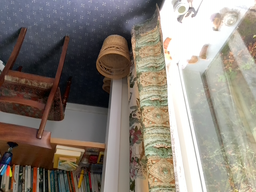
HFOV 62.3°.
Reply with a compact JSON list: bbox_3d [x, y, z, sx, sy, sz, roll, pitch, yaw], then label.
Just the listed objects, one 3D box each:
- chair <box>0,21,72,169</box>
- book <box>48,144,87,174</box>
[{"bbox_3d":[-0.700,-0.020,1.460,0.460,0.850,0.470,9,141,-11],"label":"chair"},{"bbox_3d":[-0.420,0.440,1.450,0.210,0.080,0.270,14,140,-16],"label":"book"}]
